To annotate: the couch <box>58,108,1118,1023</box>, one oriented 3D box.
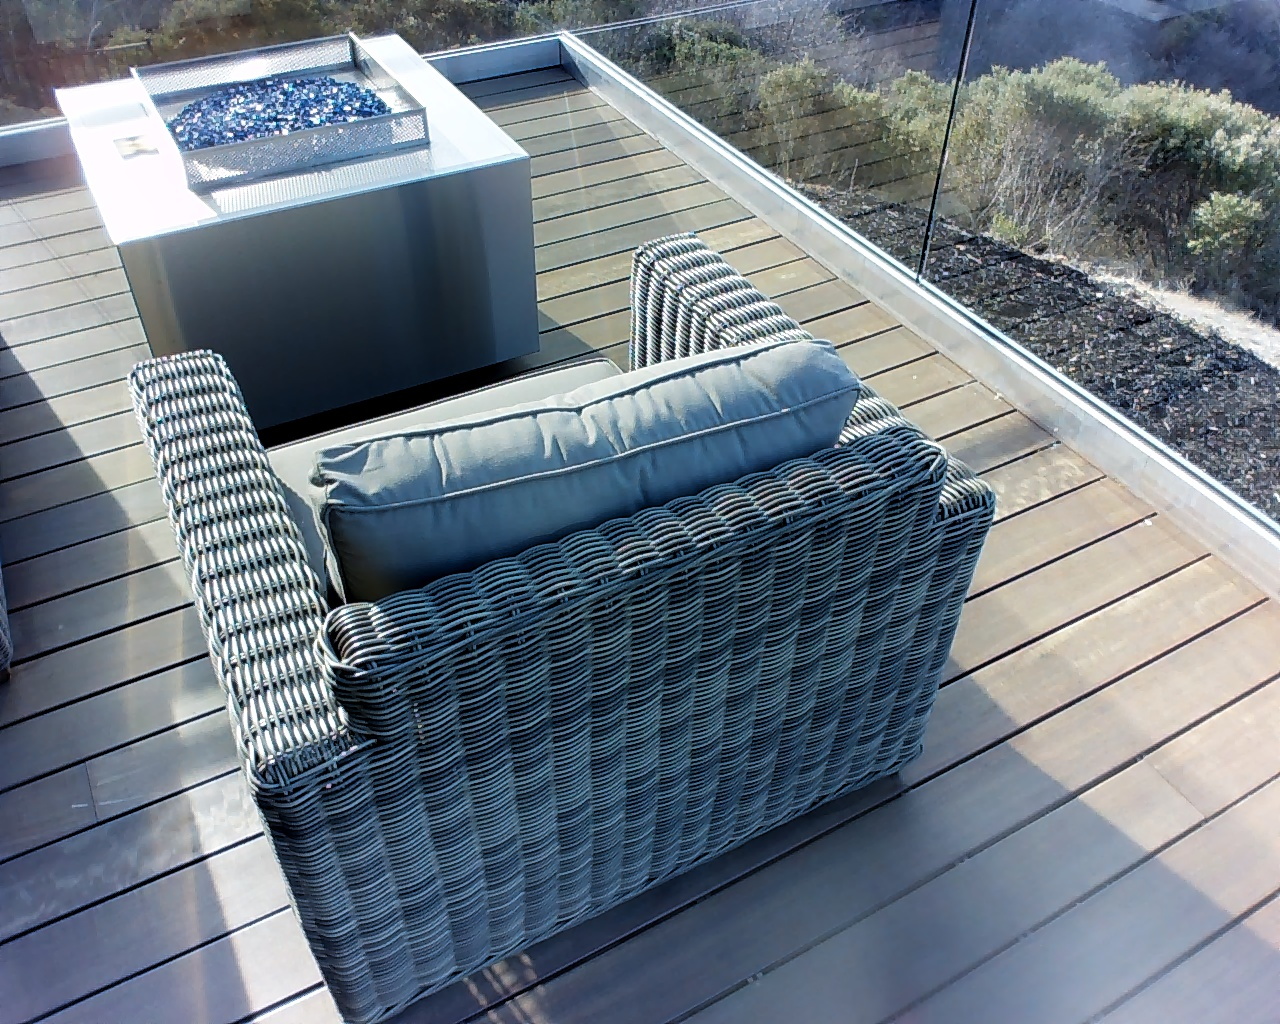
[{"bbox_3d":[-0.120,0.030,1.680,1.090,0.830,0.910,-20,45,-22],"label":"couch"}]
